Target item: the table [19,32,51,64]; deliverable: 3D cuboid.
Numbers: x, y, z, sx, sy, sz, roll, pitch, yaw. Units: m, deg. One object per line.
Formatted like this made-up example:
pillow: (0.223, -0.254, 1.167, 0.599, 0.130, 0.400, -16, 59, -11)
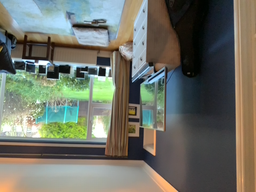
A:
table: (-1.770, -0.910, 4.080, 0.450, 0.470, 0.380, 3, 174, -8)
